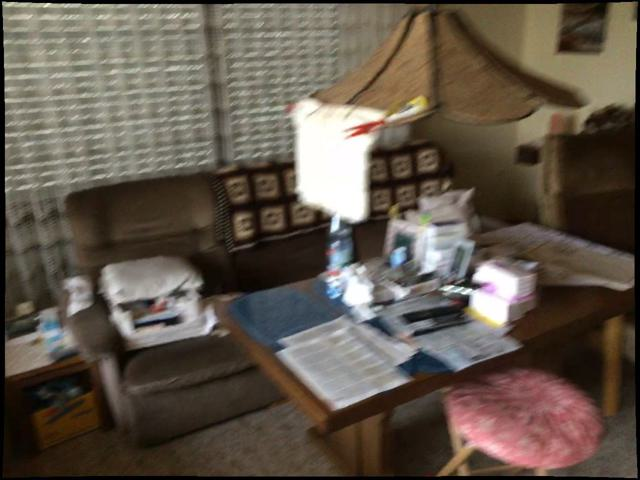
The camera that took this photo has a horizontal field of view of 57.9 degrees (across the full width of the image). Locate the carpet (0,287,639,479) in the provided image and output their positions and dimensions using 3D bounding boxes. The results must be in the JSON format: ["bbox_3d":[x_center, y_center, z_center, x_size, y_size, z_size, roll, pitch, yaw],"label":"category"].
[{"bbox_3d":[0.100,0.861,1.890,2.029,0.110,2.229,-16,26,-35],"label":"carpet"}]

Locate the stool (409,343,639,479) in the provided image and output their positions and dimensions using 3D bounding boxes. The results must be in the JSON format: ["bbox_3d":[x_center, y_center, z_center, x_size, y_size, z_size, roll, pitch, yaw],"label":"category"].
[{"bbox_3d":[0.569,0.651,1.750,0.440,0.460,0.450,-4,22,-11],"label":"stool"}]
